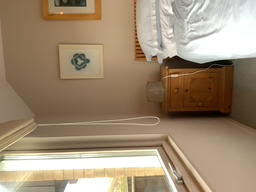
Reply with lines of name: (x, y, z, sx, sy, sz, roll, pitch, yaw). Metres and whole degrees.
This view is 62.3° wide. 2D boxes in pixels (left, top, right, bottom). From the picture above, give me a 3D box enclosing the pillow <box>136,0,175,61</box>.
pillow: (0.240, -0.760, 2.010, 0.460, 0.290, 0.820, -117, 26, -83)
